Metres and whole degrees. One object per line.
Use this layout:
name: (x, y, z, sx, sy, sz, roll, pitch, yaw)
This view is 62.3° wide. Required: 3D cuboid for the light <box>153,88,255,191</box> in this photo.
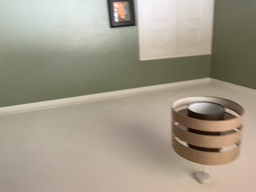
light: (0.390, 0.250, 1.190, 0.340, 0.390, 0.440, 91, 172, -53)
